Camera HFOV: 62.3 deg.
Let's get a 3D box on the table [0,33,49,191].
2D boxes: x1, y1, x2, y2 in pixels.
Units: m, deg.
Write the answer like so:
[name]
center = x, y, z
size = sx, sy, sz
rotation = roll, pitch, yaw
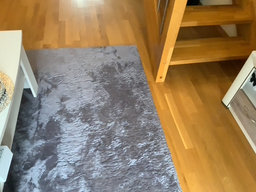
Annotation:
[table]
center = -0.840, 0.210, 1.120
size = 0.640, 0.490, 1.110
rotation = -5, 51, -9
